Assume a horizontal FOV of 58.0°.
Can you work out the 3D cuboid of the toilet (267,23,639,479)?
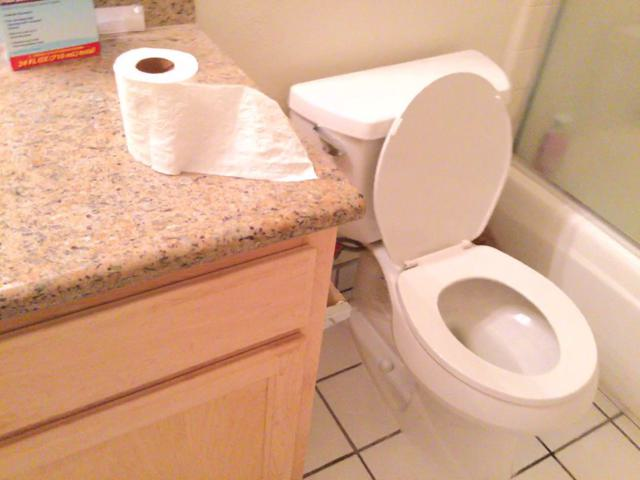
[{"bbox_3d":[0.270,0.060,1.250,0.500,0.780,0.730,-15,41,-25],"label":"toilet"}]
